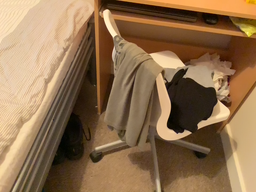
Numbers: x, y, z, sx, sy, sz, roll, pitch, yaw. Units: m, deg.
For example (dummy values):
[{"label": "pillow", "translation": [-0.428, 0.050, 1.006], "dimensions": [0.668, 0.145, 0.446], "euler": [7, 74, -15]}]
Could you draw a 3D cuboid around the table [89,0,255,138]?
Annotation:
[{"label": "table", "translation": [0.240, -0.220, 1.180], "dimensions": [0.790, 0.760, 0.450], "euler": [8, 47, 0]}]

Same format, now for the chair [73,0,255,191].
[{"label": "chair", "translation": [0.140, 0.020, 0.950], "dimensions": [0.650, 0.750, 0.660], "euler": [-7, 48, -14]}]
